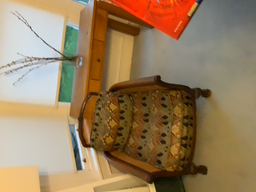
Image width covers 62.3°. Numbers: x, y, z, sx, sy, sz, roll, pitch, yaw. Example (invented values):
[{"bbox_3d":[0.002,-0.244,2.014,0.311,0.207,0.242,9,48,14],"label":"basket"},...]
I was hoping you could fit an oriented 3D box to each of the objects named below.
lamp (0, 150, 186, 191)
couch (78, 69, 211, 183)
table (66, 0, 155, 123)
[{"bbox_3d":[-0.270,0.760,1.720,0.350,1.530,0.450,-60,40,31],"label":"lamp"},{"bbox_3d":[0.100,0.230,1.920,0.930,0.750,0.710,-3,82,56],"label":"couch"},{"bbox_3d":[-0.200,-0.360,2.480,0.530,0.760,1.270,2,86,56],"label":"table"}]
